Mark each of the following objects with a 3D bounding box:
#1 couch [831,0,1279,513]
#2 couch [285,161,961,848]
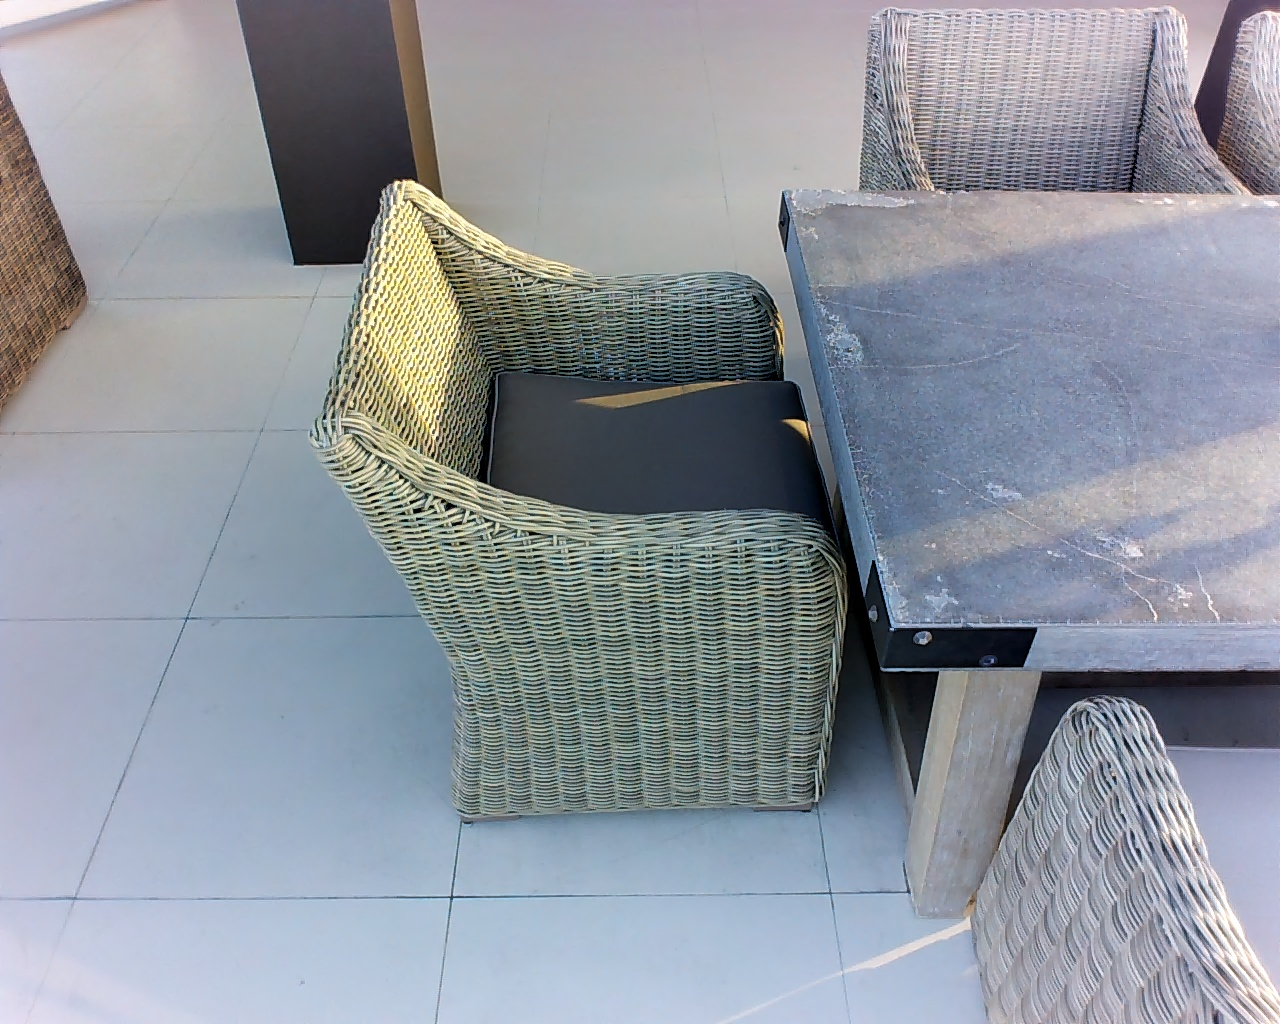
[{"bbox_3d":[0.880,-0.550,2.320,0.750,0.850,0.700,0,42,0],"label":"couch"},{"bbox_3d":[-0.020,-0.010,1.760,0.760,0.840,0.730,-1,42,0],"label":"couch"}]
